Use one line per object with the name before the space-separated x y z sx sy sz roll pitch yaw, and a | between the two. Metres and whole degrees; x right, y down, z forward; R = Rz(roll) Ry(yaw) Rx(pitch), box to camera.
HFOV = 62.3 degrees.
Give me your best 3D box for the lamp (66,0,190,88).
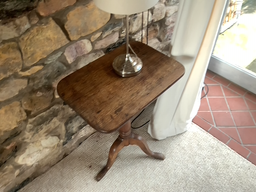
lamp | 0.000 -0.350 0.830 0.350 0.430 0.320 36 58 28
